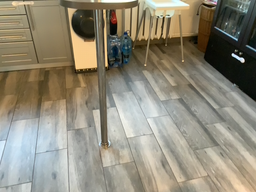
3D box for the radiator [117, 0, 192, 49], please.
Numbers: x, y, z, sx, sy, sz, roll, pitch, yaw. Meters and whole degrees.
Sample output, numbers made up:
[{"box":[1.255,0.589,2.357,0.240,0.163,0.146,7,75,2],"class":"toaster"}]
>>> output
[{"box":[0.370,-1.140,3.150,1.030,0.770,0.220,-6,36,-11],"class":"radiator"}]
